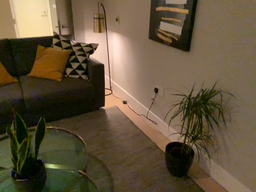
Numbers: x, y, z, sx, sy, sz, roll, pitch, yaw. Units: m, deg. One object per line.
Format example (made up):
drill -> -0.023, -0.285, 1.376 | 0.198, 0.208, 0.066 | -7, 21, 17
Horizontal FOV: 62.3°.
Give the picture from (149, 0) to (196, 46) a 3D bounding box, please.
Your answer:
picture -> 0.390, -0.950, 1.890 | 0.030, 0.880, 0.590 | -12, 29, -26
